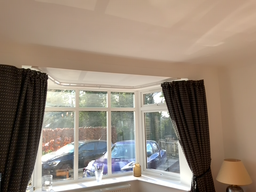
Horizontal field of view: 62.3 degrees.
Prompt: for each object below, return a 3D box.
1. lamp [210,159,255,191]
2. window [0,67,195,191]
[{"bbox_3d":[1.470,1.180,2.870,0.470,0.520,0.430,1,-7,-25],"label":"lamp"},{"bbox_3d":[-0.420,0.610,3.170,2.540,1.680,1.050,1,-7,-23],"label":"window"}]
